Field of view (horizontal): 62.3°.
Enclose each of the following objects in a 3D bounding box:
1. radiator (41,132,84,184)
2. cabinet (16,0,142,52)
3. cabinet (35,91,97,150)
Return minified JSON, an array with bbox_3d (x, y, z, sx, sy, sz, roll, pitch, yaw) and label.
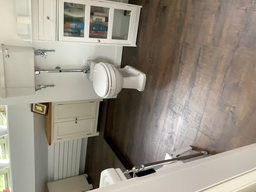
[{"bbox_3d":[-1.130,1.060,3.650,0.200,0.660,0.780,39,126,52],"label":"radiator"},{"bbox_3d":[-0.480,-0.760,2.180,0.380,1.160,0.490,37,124,52],"label":"cabinet"},{"bbox_3d":[-0.920,0.330,3.120,0.400,0.760,0.680,37,124,52],"label":"cabinet"}]
